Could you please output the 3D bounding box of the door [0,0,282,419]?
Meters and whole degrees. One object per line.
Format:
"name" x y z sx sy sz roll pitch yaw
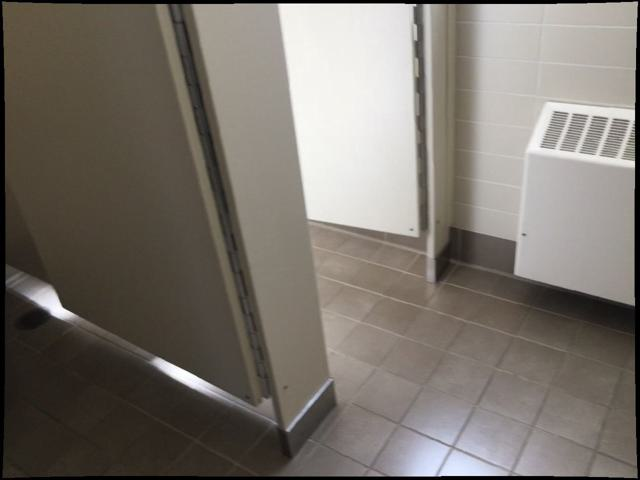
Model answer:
"door" -0.579 -0.430 1.160 0.889 1.791 0.070 16 41 32
